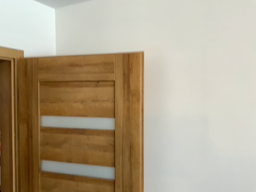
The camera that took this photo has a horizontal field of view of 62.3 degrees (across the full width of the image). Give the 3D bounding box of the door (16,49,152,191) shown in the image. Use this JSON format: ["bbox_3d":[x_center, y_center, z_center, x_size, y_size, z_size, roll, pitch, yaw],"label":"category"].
[{"bbox_3d":[-0.310,0.780,1.340,0.900,2.060,0.120,1,2,21],"label":"door"}]
